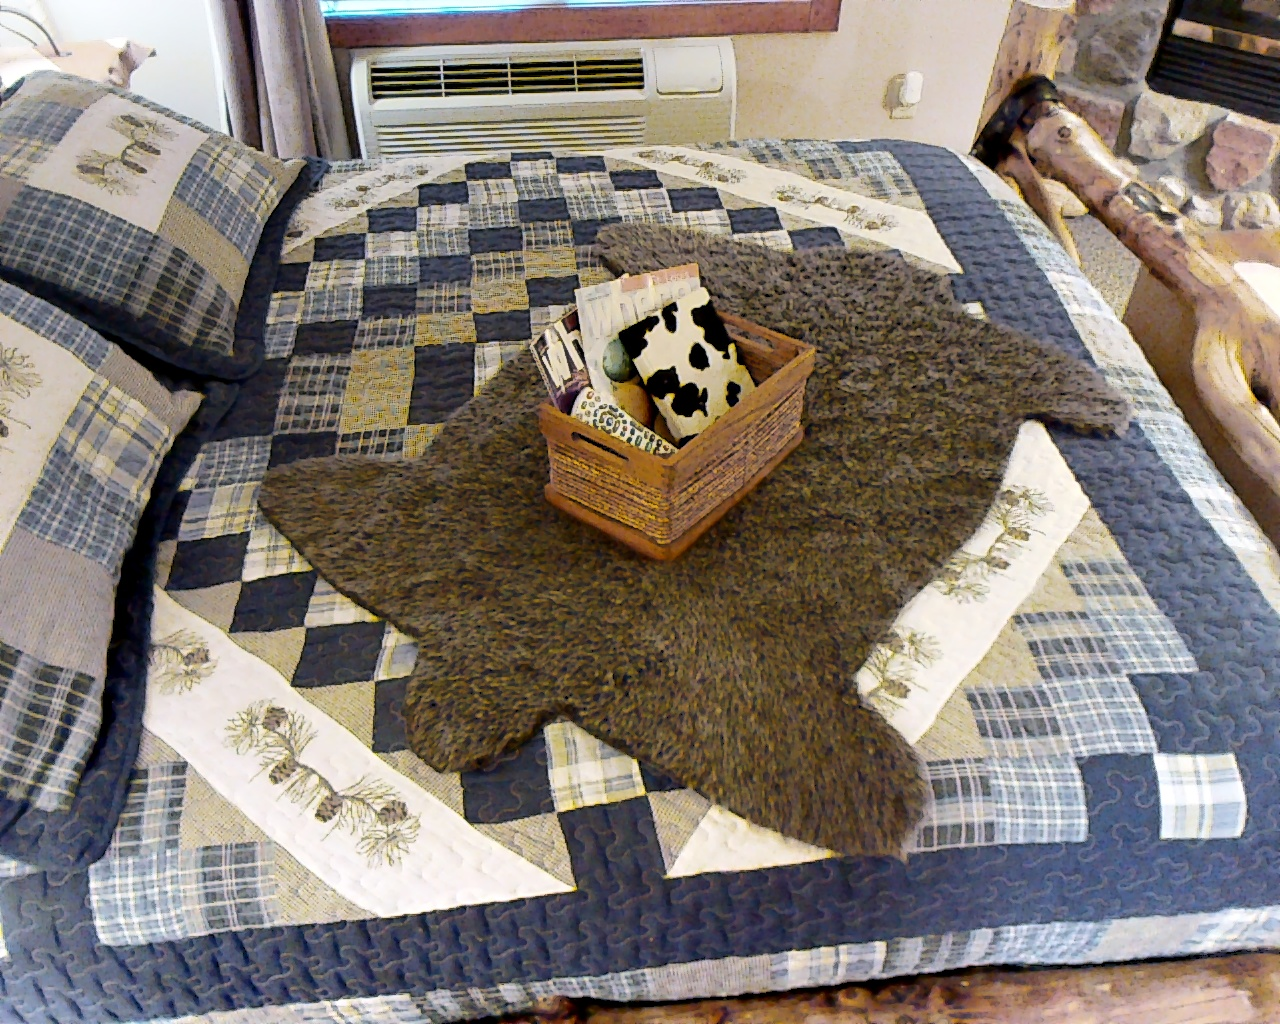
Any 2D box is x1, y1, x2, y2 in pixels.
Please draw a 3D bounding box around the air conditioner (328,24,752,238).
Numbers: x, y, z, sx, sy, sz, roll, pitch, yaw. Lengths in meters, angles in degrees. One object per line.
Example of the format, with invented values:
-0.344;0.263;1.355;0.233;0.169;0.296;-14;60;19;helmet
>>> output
-0.270;-1.090;3.090;1.120;0.500;0.210;-4;43;-6;air conditioner
